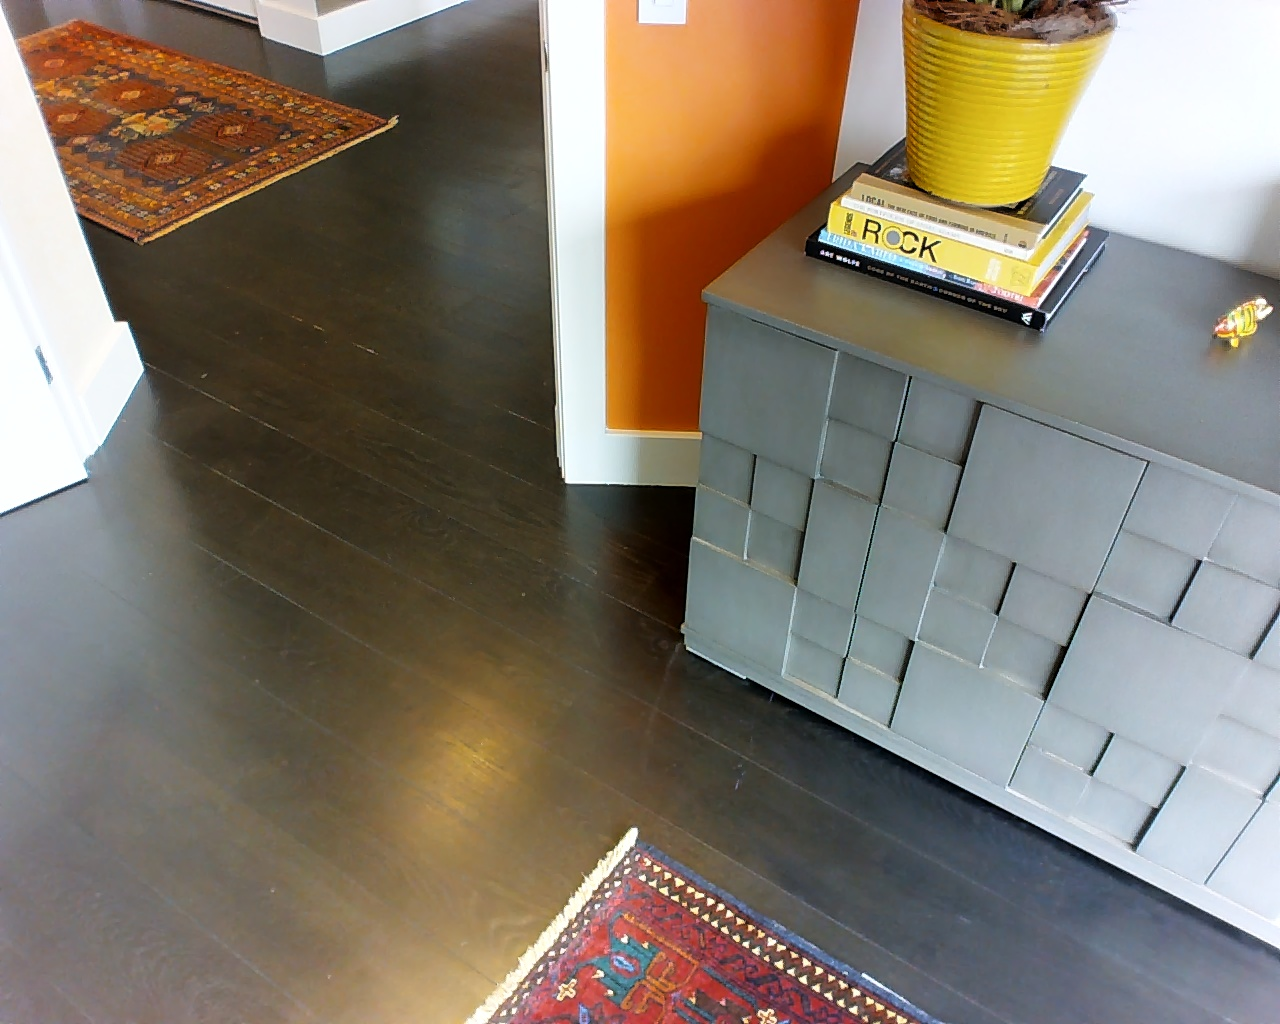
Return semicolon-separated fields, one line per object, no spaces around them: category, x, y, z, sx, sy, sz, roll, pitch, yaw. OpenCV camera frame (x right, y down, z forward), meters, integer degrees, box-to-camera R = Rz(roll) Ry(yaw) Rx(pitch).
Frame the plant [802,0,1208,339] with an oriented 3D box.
plant;0.500;-0.630;1.410;0.370;0.610;0.380;24;47;24
